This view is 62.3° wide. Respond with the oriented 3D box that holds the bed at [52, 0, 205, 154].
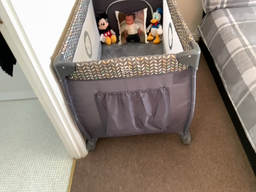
[{"bbox_3d":[0.010,-0.320,1.620,0.670,0.760,1.210,-6,44,2],"label":"bed"}]
